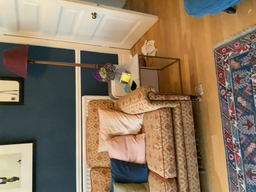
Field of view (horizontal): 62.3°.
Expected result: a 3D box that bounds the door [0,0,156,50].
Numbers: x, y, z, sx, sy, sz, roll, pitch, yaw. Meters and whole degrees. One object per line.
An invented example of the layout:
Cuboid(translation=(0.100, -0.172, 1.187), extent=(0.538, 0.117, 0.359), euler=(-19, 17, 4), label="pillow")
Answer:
Cuboid(translation=(-0.800, -0.930, 2.620), extent=(0.980, 2.080, 0.090), euler=(154, 115, -62), label="door")

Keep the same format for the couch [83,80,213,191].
Cuboid(translation=(0.120, 0.990, 2.060), extent=(1.030, 0.860, 2.060), euler=(159, 110, -63), label="couch")

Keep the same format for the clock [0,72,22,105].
Cuboid(translation=(-1.540, -0.090, 2.610), extent=(0.060, 0.410, 0.400), euler=(165, 105, -64), label="clock")
